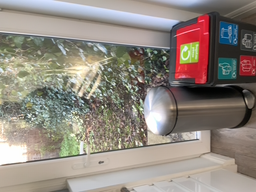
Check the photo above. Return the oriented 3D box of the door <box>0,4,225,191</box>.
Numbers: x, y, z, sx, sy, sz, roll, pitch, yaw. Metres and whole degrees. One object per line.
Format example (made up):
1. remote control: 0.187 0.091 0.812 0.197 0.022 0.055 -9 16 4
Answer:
1. door: -0.310 0.200 1.230 0.090 2.320 1.320 176 93 -64
